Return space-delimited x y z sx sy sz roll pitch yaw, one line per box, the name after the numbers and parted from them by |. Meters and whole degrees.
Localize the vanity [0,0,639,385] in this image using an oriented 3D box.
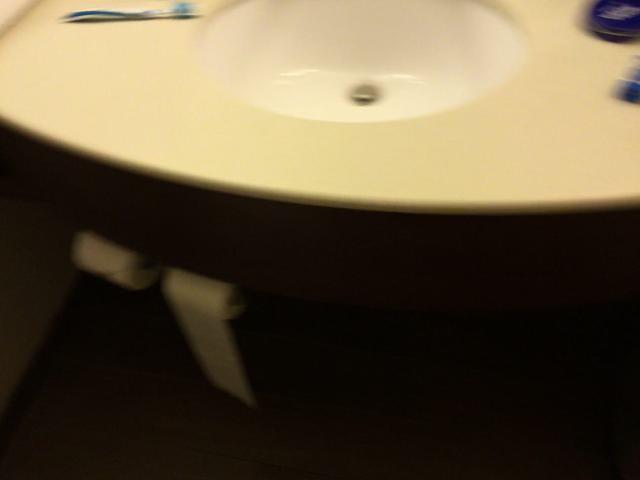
0.050 -0.240 0.800 1.460 0.410 0.600 9 52 9 | vanity
